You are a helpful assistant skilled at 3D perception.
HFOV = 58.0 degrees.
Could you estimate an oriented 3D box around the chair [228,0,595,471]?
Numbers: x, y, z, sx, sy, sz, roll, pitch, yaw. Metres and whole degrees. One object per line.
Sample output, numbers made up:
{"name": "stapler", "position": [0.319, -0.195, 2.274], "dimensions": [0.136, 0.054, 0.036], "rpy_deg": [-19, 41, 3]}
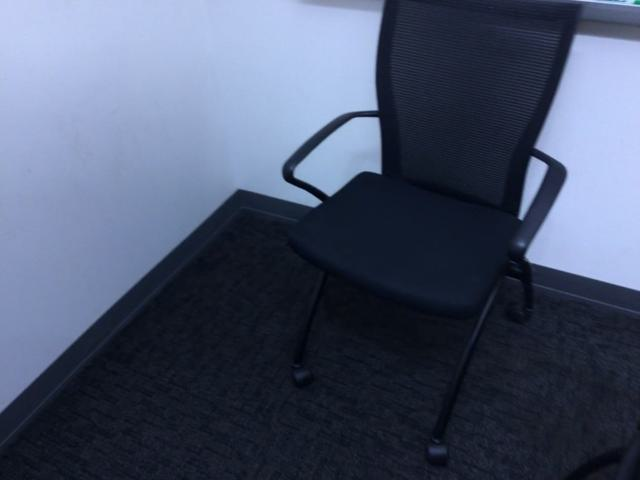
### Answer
{"name": "chair", "position": [0.230, -0.060, 1.380], "dimensions": [0.520, 0.880, 0.600], "rpy_deg": [16, 39, 26]}
